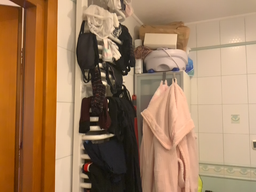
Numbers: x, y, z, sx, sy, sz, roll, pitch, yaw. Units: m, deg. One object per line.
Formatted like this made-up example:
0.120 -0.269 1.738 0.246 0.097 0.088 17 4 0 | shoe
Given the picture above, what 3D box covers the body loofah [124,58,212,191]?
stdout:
0.270 0.450 1.660 0.380 1.340 0.630 1 -3 -24 | body loofah
